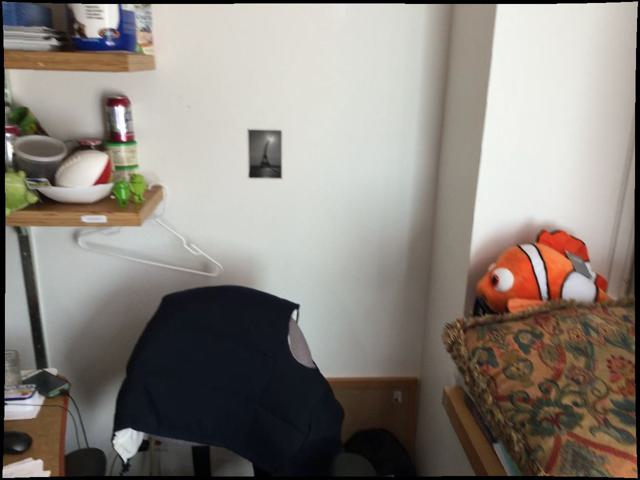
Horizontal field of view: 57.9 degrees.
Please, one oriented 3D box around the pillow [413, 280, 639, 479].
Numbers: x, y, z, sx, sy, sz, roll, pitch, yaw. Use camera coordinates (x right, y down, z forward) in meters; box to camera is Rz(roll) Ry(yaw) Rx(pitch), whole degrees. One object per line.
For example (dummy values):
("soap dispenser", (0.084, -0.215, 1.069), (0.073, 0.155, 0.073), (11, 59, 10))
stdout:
("pillow", (0.490, 0.310, 1.060), (0.500, 0.270, 0.550), (1, 19, -4))
